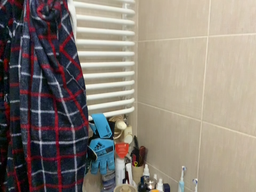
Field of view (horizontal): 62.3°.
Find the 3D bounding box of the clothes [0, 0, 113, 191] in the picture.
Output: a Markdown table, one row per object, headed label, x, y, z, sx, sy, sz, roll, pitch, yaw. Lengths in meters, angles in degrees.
| label | x | y | z | sx | sy | sz | roll | pitch | yaw |
| --- | --- | --- | --- | --- | --- | --- | --- | --- | --- |
| clothes | -0.300 | 0.100 | 0.780 | 0.420 | 1.480 | 0.250 | -8 | 15 | -36 |
